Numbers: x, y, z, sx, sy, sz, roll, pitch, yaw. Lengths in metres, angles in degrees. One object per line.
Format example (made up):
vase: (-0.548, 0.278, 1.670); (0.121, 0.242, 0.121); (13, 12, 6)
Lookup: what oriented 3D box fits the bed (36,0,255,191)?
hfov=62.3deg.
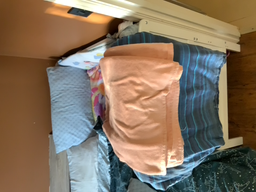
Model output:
bed: (0.010, 0.010, 1.550); (1.370, 0.990, 0.710); (-2, 88, 55)
